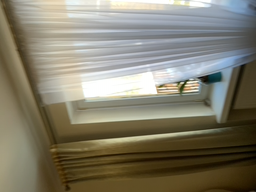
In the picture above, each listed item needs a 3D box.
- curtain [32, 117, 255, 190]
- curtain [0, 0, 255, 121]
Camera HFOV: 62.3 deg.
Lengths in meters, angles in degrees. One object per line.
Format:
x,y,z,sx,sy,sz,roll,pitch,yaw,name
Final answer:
0.570,0.600,2.250,0.270,2.890,0.640,-94,1,-56,curtain
0.150,-0.470,1.710,0.480,2.050,1.170,-94,1,-59,curtain
